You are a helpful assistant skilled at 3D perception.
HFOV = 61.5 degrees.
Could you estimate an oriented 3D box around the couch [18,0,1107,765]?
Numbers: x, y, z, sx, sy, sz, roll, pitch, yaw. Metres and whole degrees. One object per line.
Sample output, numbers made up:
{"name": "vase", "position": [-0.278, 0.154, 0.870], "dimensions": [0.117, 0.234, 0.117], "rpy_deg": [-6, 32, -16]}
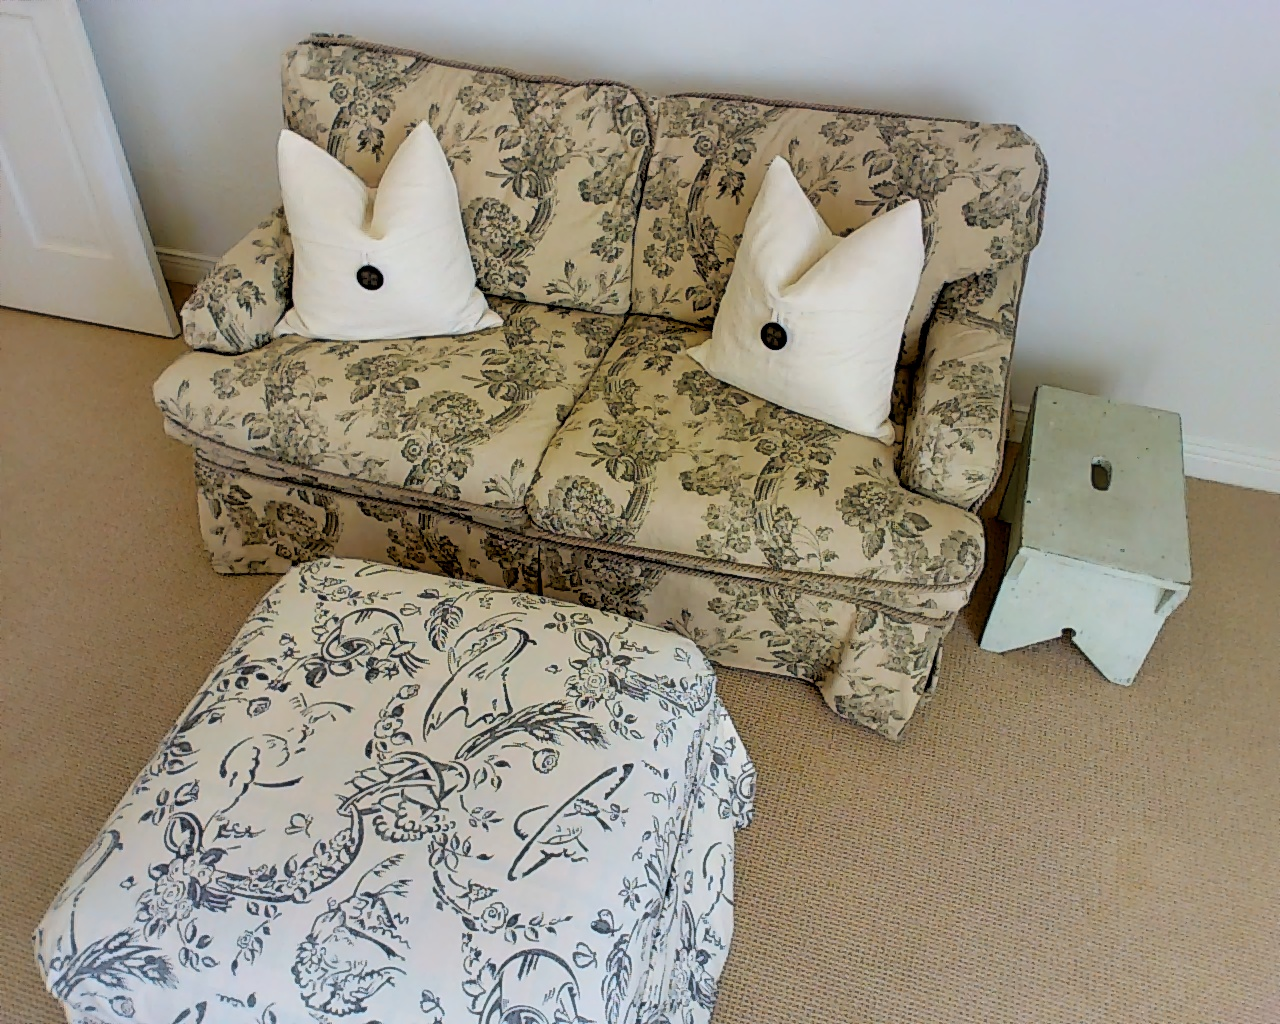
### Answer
{"name": "couch", "position": [-0.050, -0.370, 2.160], "dimensions": [1.630, 0.880, 1.010], "rpy_deg": [13, 44, 13]}

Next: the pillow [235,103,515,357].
{"name": "pillow", "position": [-0.480, -0.540, 2.060], "dimensions": [0.410, 0.360, 0.290], "rpy_deg": [4, 43, 3]}

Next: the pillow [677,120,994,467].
{"name": "pillow", "position": [0.320, -0.390, 1.890], "dimensions": [0.420, 0.410, 0.270], "rpy_deg": [30, 50, 28]}
